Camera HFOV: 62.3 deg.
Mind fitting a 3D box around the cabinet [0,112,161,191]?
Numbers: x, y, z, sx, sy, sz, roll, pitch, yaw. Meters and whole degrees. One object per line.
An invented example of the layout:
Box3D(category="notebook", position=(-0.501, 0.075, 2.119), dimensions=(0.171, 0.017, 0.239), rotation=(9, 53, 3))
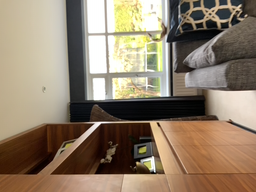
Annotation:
Box3D(category="cabinet", position=(-0.490, 0.560, 1.830), dimensions=(1.580, 1.360, 0.610), rotation=(-60, -31, -85))
